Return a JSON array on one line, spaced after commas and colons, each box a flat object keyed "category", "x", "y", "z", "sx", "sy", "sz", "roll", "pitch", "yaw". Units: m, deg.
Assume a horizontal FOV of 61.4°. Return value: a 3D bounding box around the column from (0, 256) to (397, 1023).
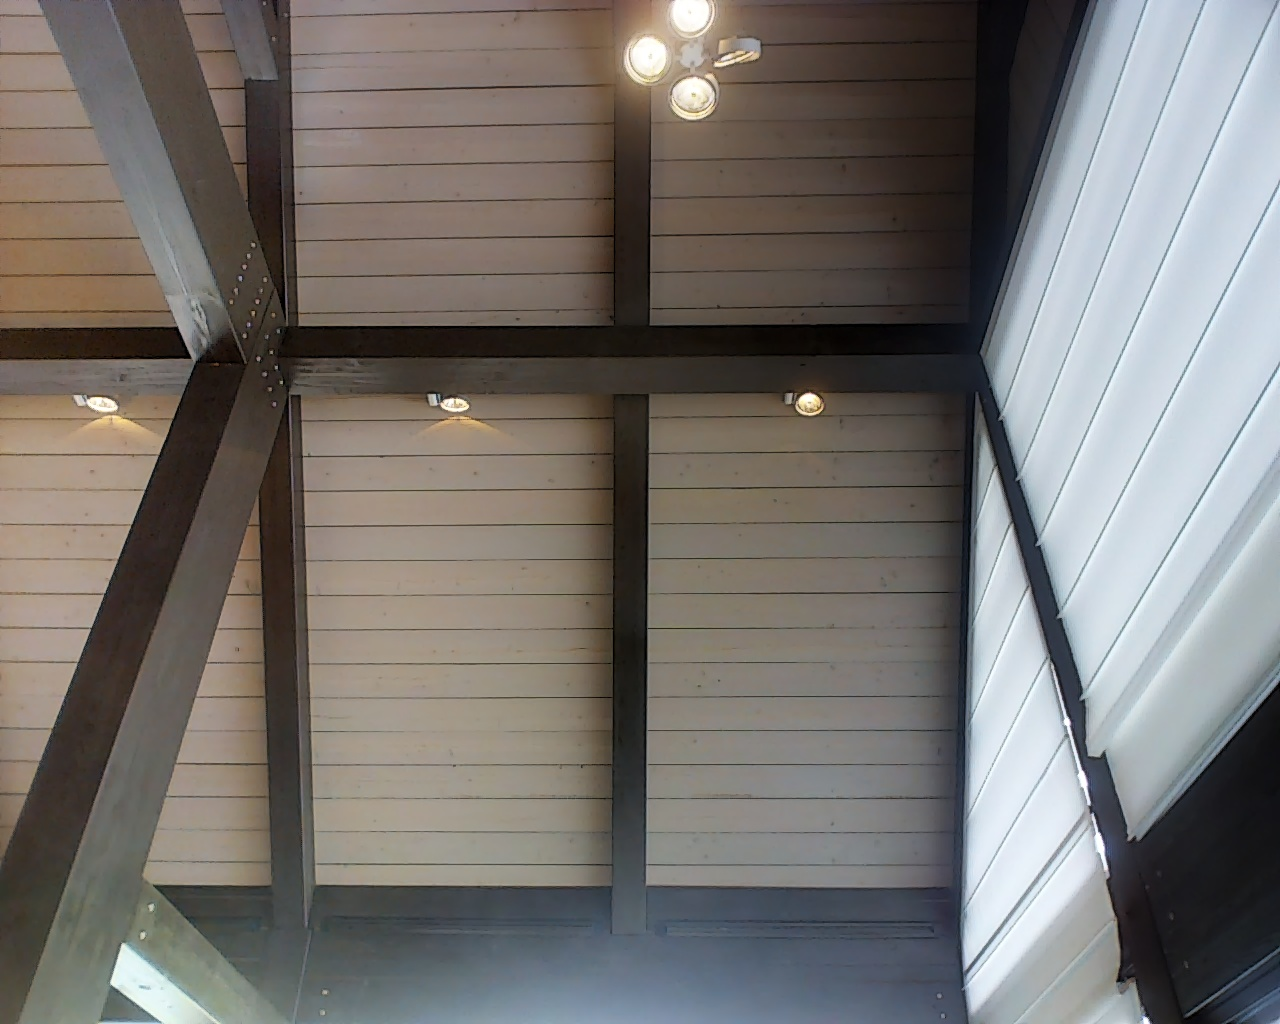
[{"category": "column", "x": -1.539, "y": 1.531, "z": 3.530, "sx": 0.310, "sy": 4.721, "sz": 2.210, "roll": 0, "pitch": -40, "yaw": 1}]
